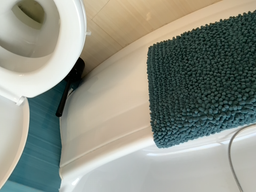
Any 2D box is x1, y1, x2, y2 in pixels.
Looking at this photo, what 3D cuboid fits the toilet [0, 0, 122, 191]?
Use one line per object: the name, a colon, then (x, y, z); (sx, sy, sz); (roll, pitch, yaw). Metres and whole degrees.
toilet: (-0.330, -0.110, 0.570); (0.510, 0.790, 0.370); (-36, 126, 29)
